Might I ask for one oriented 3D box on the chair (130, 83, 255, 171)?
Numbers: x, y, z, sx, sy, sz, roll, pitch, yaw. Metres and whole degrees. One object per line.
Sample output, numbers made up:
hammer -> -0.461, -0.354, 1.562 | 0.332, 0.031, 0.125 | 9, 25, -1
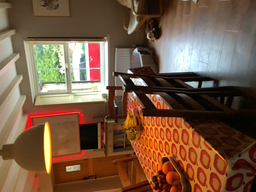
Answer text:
chair -> 0.540, 0.190, 1.660 | 0.450, 0.950, 0.450 | -128, 38, -66

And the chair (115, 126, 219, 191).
chair -> 0.390, 0.670, 2.320 | 0.430, 0.980, 0.450 | -124, 34, -64

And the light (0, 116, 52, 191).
light -> -1.030, 0.460, 1.610 | 0.460, 0.780, 0.480 | -132, 50, -67

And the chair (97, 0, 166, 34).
chair -> 0.010, -1.570, 3.520 | 0.540, 0.980, 0.880 | 143, 123, -73
